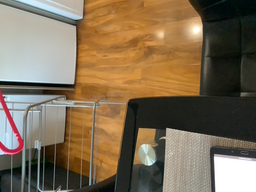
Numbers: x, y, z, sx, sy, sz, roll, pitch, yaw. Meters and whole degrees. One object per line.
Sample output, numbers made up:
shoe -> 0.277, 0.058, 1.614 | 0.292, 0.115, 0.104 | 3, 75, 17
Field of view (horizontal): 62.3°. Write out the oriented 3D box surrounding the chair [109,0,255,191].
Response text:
chair -> 0.420, -0.180, 0.700 | 0.430, 0.950, 0.620 | -2, 89, 37
